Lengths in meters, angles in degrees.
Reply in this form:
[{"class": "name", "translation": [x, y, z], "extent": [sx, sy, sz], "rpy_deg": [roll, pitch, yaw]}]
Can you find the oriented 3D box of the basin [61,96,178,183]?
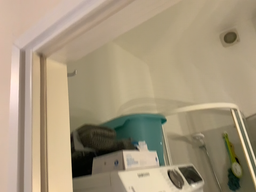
[{"class": "basin", "translation": [-0.060, 0.270, 1.220], "extent": [0.500, 0.340, 0.380], "rpy_deg": [-22, -23, 32]}]
